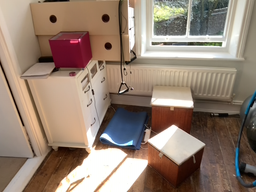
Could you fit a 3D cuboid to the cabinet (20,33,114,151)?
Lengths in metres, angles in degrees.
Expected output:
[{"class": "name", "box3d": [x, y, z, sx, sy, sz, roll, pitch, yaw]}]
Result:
[{"class": "cabinet", "box3d": [-0.530, -0.090, 2.290, 0.510, 0.930, 0.890, 3, 31, 10]}]
